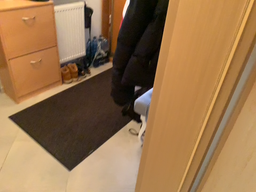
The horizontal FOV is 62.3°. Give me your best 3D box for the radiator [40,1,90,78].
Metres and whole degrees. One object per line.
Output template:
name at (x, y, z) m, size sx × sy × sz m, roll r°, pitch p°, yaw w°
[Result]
radiator at (-0.650, -0.620, 2.320) m, size 0.120 × 0.720 × 0.510 m, roll 27°, pitch 39°, yaw 27°
